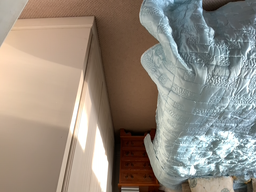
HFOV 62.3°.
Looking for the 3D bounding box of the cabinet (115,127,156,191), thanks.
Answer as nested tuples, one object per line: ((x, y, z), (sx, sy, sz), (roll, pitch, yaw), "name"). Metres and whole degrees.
((0.090, 0.760, 2.560), (0.430, 0.650, 0.420), (0, 142, 2), "cabinet")
